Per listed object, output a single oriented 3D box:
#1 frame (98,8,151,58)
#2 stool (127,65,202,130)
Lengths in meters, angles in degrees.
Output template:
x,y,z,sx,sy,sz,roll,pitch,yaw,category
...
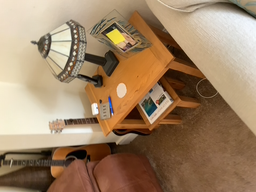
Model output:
x,y,z,sx,sy,sz,roll,pitch,yaw,category
-0.020,-0.330,1.130,0.140,0.190,0.160,-50,53,29,frame
0.240,0.020,1.450,0.290,0.290,0.300,-50,53,30,stool
